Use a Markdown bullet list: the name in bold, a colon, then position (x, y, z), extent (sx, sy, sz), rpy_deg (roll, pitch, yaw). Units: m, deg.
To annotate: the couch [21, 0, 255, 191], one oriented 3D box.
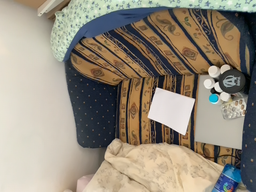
- **couch**: position (0.200, -0.060, 1.280), extent (1.450, 1.020, 0.970), rpy_deg (0, 85, 44)
